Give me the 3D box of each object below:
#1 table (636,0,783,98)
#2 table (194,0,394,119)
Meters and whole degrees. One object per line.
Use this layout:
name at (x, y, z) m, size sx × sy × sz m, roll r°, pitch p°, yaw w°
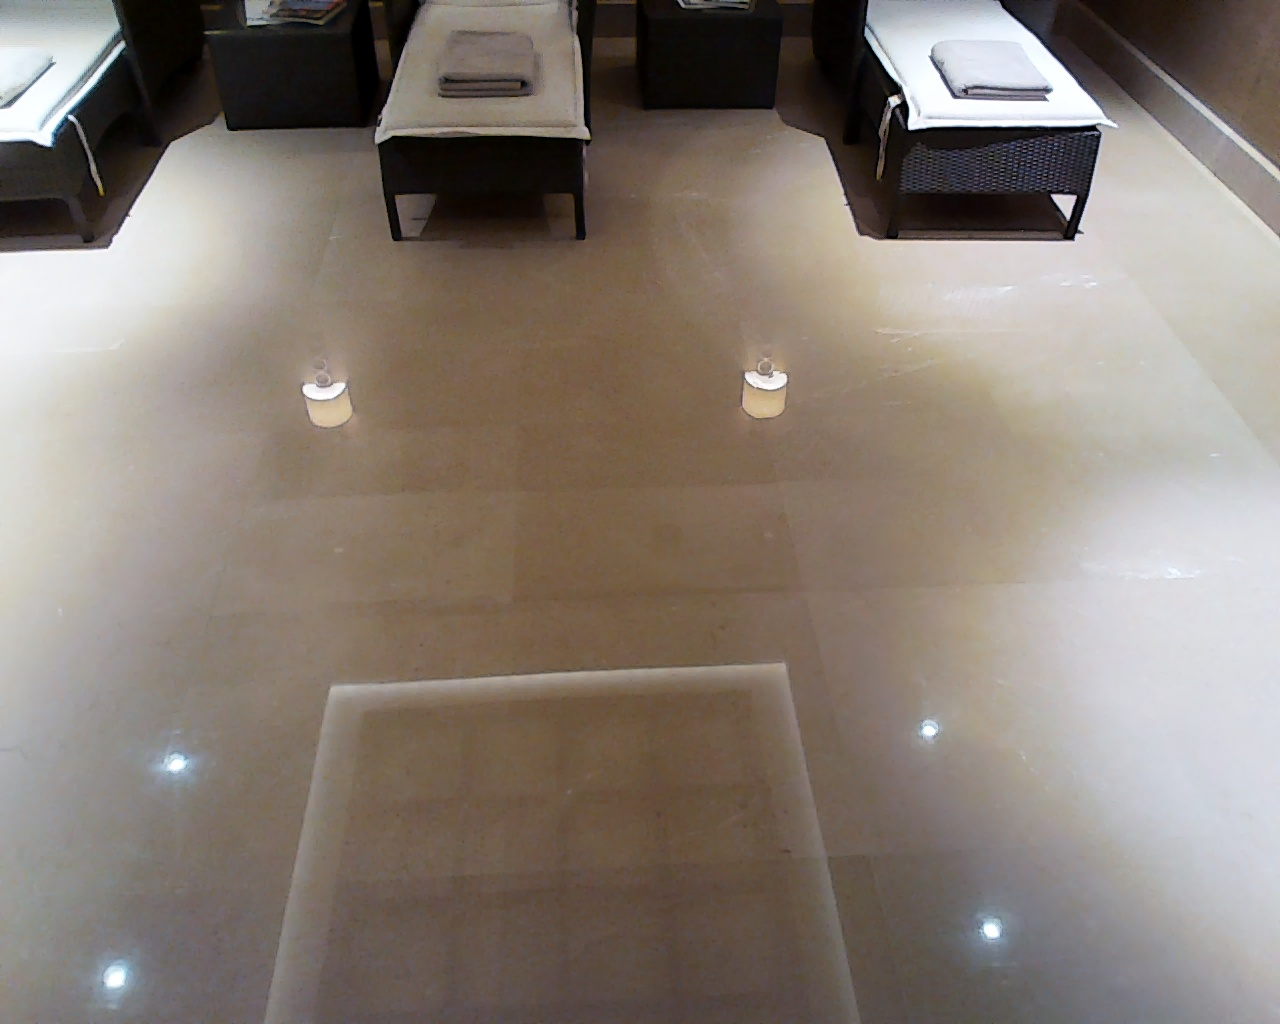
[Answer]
table at (0.250, -1.840, 4.130) m, size 0.510 × 0.360 × 0.340 m, roll -2°, pitch 43°, yaw -3°
table at (-1.250, -1.730, 3.980) m, size 0.580 × 0.380 × 0.420 m, roll -2°, pitch 43°, yaw -3°
